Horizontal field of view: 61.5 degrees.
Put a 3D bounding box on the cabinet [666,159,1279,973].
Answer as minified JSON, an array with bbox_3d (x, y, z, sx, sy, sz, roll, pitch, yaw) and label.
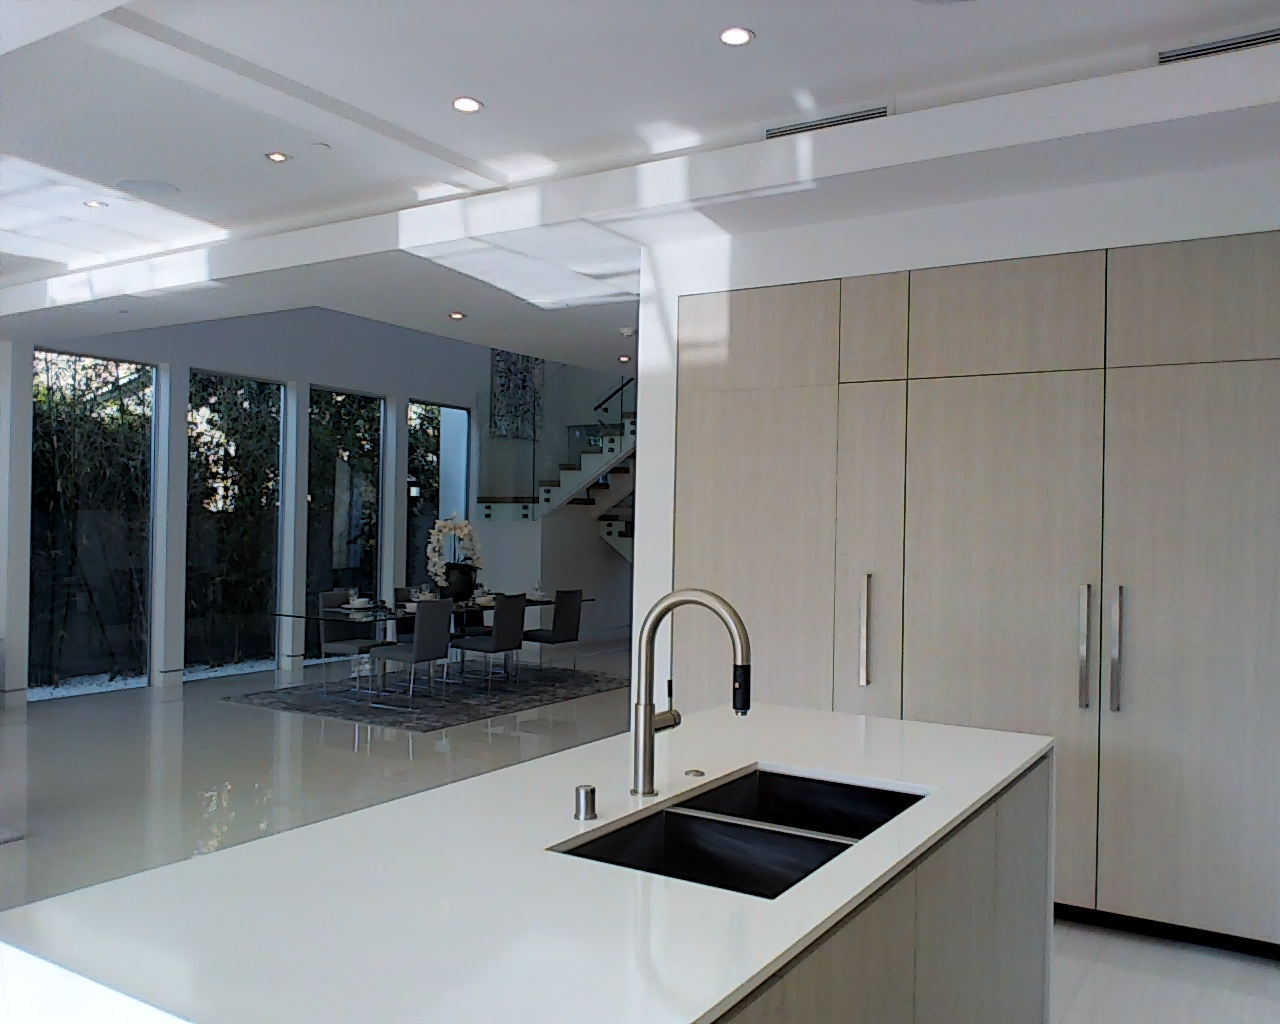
[{"bbox_3d":[1.789,0.180,4.060,3.819,2.811,0.130,1,0,32],"label":"cabinet"}]
